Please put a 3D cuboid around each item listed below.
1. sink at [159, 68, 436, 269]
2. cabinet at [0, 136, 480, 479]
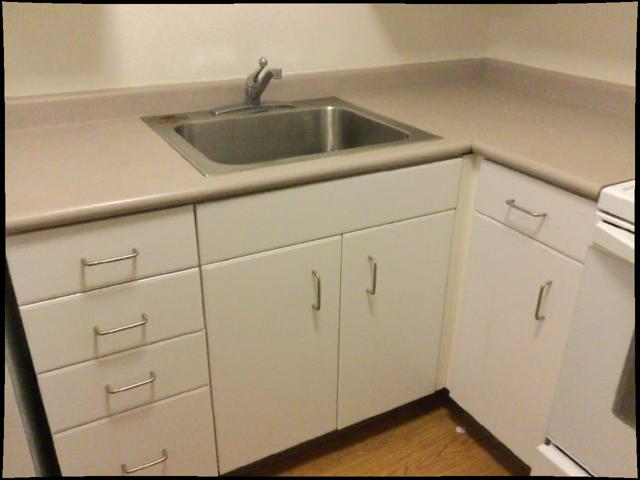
[{"bbox_3d":[-0.080,-0.240,1.580,0.530,0.310,0.550,-15,30,-25],"label":"sink"},{"bbox_3d":[-0.100,0.260,1.460,1.099,0.871,0.120,-15,30,-26],"label":"cabinet"}]
